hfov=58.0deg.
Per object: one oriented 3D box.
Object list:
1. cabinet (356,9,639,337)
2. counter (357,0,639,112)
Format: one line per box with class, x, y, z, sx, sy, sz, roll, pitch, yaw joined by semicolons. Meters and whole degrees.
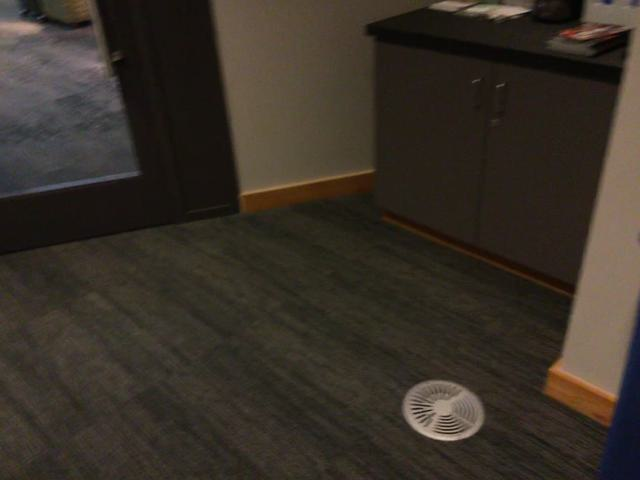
cabinet;0.580;-0.280;2.030;0.140;0.840;1.090;-26;41;-35
counter;0.730;-0.740;1.940;0.600;0.240;1.090;-26;41;-35
